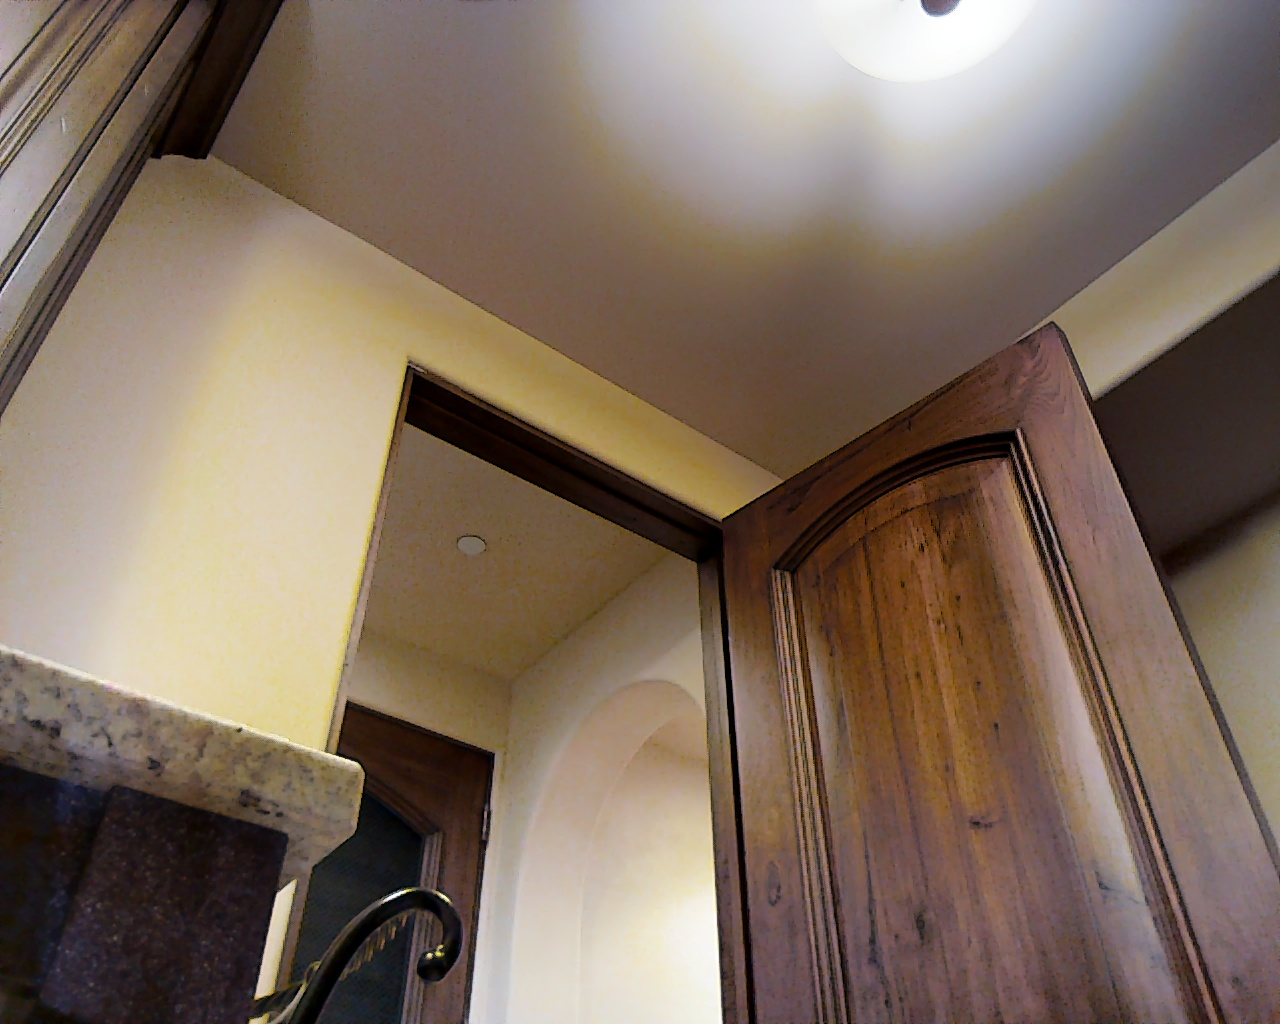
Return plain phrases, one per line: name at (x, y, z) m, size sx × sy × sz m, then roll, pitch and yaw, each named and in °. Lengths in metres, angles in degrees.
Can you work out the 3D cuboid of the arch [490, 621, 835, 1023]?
arch at (0.010, 1.490, 2.420) m, size 0.320 × 2.370 × 0.960 m, roll 27°, pitch -48°, yaw -27°
